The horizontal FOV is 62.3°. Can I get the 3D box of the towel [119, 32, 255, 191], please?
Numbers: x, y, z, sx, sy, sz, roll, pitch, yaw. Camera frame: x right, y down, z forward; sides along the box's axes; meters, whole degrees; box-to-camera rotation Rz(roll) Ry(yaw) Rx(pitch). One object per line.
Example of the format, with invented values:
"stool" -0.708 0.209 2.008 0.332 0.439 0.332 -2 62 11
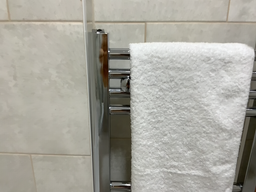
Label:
"towel" 0.120 0.160 0.520 0.280 0.600 0.190 0 19 -2
